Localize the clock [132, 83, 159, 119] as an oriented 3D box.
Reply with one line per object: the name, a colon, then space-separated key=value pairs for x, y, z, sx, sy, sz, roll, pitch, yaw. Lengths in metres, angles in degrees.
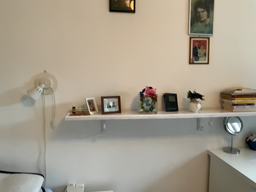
clock: x=0.130 y=0.030 z=1.680 sx=0.170 sy=0.260 sz=0.200 roll=0 pitch=6 yaw=-7
